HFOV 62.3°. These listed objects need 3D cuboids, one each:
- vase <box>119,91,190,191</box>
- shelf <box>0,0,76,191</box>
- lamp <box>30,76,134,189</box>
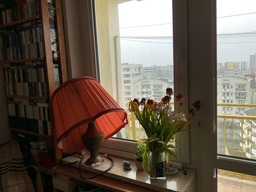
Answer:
[{"bbox_3d":[0.170,0.250,1.280,0.330,0.530,0.280,1,7,29],"label":"vase"},{"bbox_3d":[-0.770,0.060,1.720,0.620,2.520,0.200,2,8,32],"label":"shelf"},{"bbox_3d":[-0.290,0.180,1.440,0.470,0.600,0.450,2,8,33],"label":"lamp"}]
